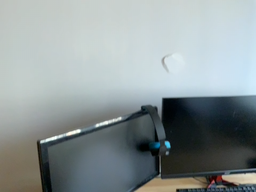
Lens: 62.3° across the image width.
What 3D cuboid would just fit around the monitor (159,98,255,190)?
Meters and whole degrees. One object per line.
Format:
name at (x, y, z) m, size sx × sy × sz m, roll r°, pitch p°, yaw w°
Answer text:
monitor at (0.460, 0.220, 0.990) m, size 0.620 × 0.420 × 0.050 m, roll -1°, pitch 14°, yaw -5°

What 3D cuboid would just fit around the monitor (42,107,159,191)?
monitor at (-0.050, 0.280, 0.790) m, size 0.040 × 0.380 × 0.500 m, roll 13°, pitch 19°, yaw 41°
